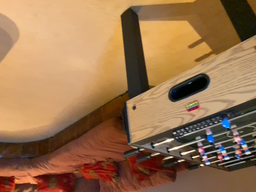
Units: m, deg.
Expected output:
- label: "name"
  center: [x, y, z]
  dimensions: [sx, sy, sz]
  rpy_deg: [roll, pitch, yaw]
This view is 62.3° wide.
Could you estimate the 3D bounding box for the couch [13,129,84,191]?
- label: "couch"
  center: [-1.020, 0.990, 2.960]
  dimensions: [0.430, 0.690, 0.980]
  rpy_deg: [-13, 149, 10]
